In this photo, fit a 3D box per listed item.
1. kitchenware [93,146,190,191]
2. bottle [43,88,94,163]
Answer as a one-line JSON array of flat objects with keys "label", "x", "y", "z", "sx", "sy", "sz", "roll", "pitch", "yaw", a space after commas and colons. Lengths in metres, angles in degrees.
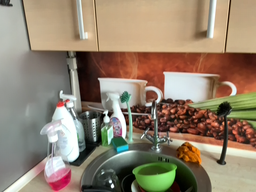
[{"label": "kitchenware", "x": 0.070, "y": 0.410, "z": 0.880, "sx": 0.310, "sy": 0.180, "sz": 0.370, "roll": 6, "pitch": 20, "yaw": 21}, {"label": "bottle", "x": -0.270, "y": 0.130, "z": 0.990, "sx": 0.130, "sy": 0.290, "sz": 0.150, "roll": 9, "pitch": 21, "yaw": 27}]
